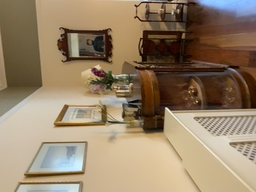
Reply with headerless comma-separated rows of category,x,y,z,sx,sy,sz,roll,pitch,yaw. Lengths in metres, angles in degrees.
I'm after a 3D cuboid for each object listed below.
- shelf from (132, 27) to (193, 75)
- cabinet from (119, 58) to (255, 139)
shelf,0.500,-0.660,3.170,0.230,0.820,0.660,-118,28,-73
cabinet,0.500,-0.130,2.410,1.720,1.040,0.490,-119,28,-74
